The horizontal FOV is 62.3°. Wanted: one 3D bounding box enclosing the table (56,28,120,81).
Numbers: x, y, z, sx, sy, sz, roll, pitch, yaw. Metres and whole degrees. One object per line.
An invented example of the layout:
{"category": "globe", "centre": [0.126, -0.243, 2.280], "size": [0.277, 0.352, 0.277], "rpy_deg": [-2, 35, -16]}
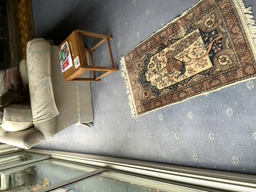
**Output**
{"category": "table", "centre": [-0.410, -0.390, 2.170], "size": [0.380, 0.460, 0.380], "rpy_deg": [-21, 78, 46]}

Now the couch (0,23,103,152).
{"category": "couch", "centre": [-1.300, -0.010, 2.830], "size": [1.850, 0.900, 1.140], "rpy_deg": [-8, 87, 47]}
